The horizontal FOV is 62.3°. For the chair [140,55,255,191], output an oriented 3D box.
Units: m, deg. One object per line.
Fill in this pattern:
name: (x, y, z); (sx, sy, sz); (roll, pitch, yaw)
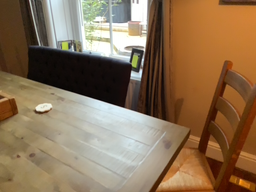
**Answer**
chair: (0.340, 0.340, 1.280); (0.500, 1.060, 0.490); (0, 26, 1)

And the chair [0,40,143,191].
chair: (-0.680, 0.060, 2.020); (1.490, 0.920, 0.650); (16, 30, 30)

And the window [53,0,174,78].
window: (-0.220, -1.190, 2.250); (1.380, 1.720, 0.380); (16, 31, 31)
